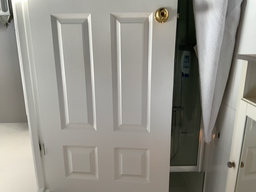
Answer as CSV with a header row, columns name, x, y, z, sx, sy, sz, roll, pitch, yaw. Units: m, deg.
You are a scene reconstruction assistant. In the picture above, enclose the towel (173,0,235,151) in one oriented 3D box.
name,x,y,z,sx,sy,sz,roll,pitch,yaw
towel,0.370,-0.260,1.070,0.170,1.060,0.250,0,-164,-1
